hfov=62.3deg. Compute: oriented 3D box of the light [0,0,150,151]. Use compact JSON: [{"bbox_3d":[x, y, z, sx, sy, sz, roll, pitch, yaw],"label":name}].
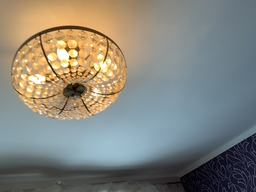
[{"bbox_3d":[-0.240,-0.100,0.900,0.410,0.460,0.290,43,-148,-3],"label":"light"}]
